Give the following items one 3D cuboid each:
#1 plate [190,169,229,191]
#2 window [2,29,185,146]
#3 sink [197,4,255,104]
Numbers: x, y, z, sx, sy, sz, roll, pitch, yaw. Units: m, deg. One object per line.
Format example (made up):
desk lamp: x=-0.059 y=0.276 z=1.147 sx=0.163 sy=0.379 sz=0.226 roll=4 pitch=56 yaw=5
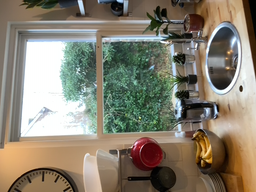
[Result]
plate: x=0.510 y=0.610 z=1.330 sx=0.220 sy=0.140 sz=0.260 roll=110 pitch=158 yaw=-78
window: x=-0.260 y=-0.100 z=1.730 sx=0.060 sy=1.370 sz=0.940 roll=109 pitch=159 yaw=-77
sink: x=0.670 y=-0.230 z=1.370 sx=0.480 sy=0.210 sz=0.470 roll=108 pitch=161 yaw=-76
